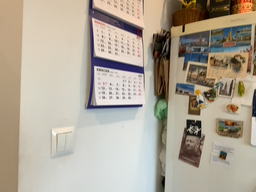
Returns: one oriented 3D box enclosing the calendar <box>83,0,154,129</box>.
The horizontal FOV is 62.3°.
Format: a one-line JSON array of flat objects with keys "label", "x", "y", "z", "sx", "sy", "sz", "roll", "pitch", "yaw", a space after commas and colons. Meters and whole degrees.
[{"label": "calendar", "x": -0.020, "y": -0.150, "z": 0.840, "sx": 0.070, "sy": 0.520, "sz": 0.330, "roll": 3, "pitch": 1, "yaw": 36}]
